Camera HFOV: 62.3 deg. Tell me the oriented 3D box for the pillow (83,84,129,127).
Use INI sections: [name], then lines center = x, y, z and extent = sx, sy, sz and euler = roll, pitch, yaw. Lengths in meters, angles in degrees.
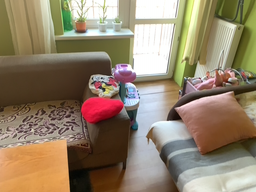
[pillow]
center = -0.190, 0.060, 1.710
extent = 0.310, 0.150, 0.360
euler = -5, 32, -13
